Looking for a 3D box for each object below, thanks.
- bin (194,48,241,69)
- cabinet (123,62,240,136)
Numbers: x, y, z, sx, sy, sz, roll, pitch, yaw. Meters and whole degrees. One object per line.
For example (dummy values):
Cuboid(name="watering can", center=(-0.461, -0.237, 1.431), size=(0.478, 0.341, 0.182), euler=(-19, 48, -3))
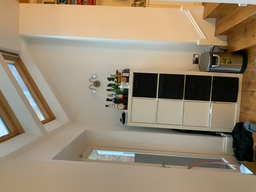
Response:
Cuboid(name="bin", center=(1.220, -0.510, 2.960), size=(0.470, 0.450, 0.240), euler=(-71, -15, -83))
Cuboid(name="cabinet", center=(0.710, 0.020, 3.070), size=(0.470, 1.490, 0.900), euler=(-66, -20, -85))
